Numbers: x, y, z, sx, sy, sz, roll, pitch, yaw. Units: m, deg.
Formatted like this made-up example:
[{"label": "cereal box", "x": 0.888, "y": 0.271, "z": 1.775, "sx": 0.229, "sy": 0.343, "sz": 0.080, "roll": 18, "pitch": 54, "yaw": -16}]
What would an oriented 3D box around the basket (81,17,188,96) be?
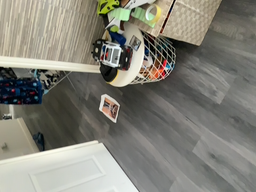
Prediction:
[{"label": "basket", "x": 0.050, "y": -0.260, "z": 1.490, "sx": 0.400, "sy": 0.550, "sz": 0.350, "roll": 38, "pitch": 118, "yaw": 38}]
